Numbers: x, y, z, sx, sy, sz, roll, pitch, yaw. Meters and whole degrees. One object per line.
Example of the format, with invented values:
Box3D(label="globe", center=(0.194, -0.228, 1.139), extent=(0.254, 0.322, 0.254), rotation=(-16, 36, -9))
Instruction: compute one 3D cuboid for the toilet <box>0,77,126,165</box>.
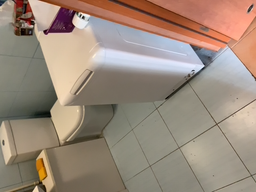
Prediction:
Box3D(label="toilet", center=(-0.580, 0.200, 1.880), extent=(0.670, 0.840, 0.370), rotation=(-45, 62, 36))
